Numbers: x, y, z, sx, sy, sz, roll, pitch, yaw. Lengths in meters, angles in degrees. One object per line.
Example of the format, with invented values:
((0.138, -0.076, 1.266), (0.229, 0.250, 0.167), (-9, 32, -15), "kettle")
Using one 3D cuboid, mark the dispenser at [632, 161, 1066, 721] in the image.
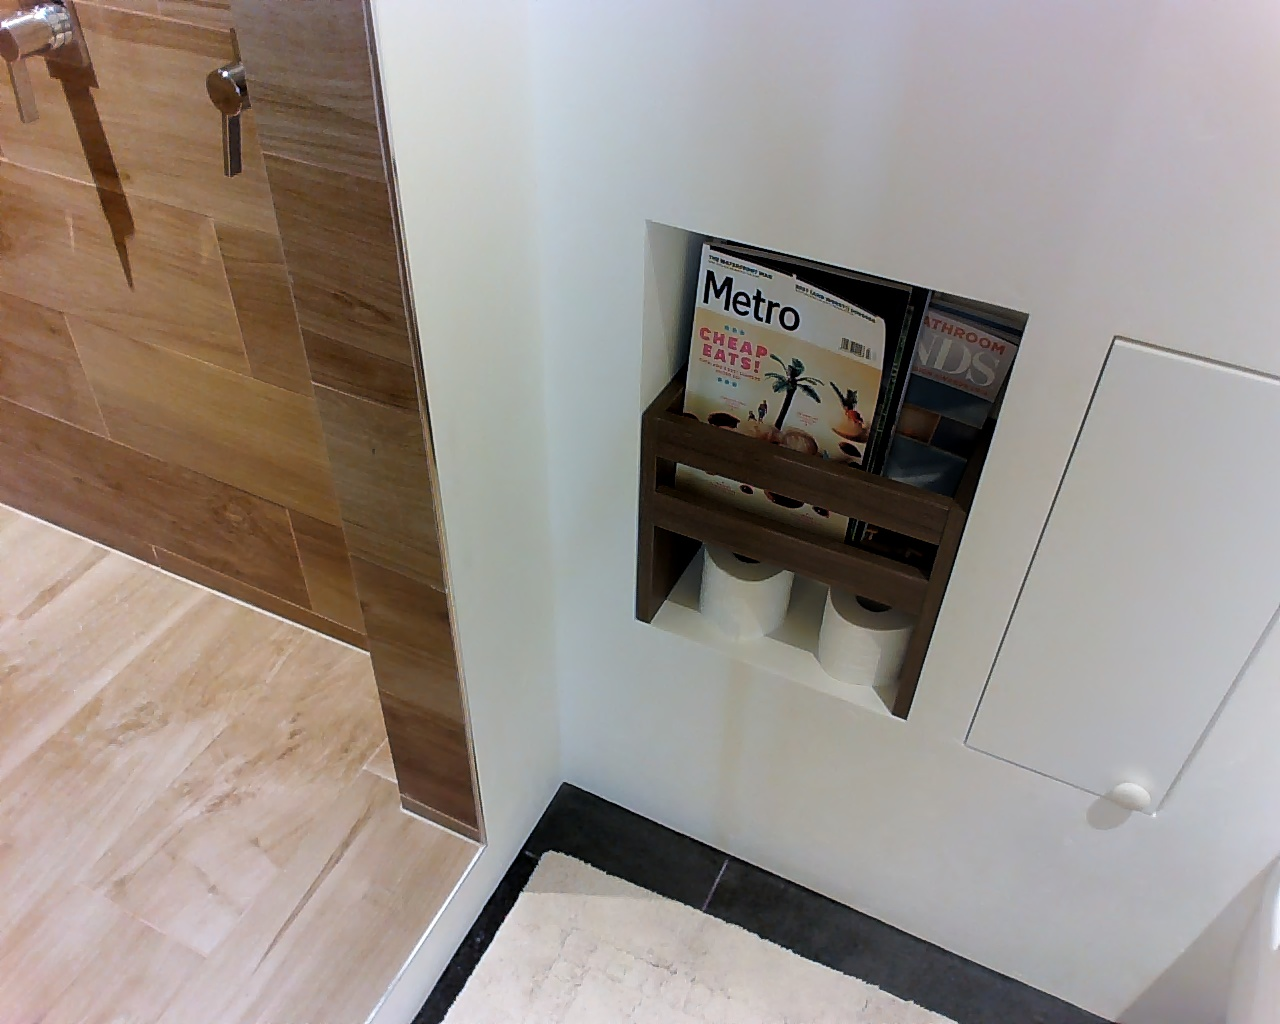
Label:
((0.190, -0.060, 1.160), (0.350, 0.520, 0.170), (19, 45, 18), "dispenser")
